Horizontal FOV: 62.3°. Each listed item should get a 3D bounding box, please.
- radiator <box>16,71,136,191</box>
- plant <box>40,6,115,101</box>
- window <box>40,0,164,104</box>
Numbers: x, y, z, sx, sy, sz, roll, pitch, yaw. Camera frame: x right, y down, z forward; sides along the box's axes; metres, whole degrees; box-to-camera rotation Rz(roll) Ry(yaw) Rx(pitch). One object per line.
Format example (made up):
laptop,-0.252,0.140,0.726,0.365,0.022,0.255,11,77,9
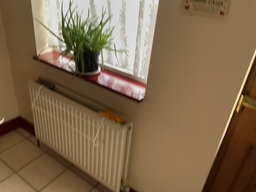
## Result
radiator,-0.450,0.280,1.650,1.060,0.670,0.110,22,33,26
plant,-0.340,-0.300,1.440,0.420,0.510,0.220,22,33,26
window,-0.230,-0.690,1.330,0.990,1.300,0.050,22,33,27
